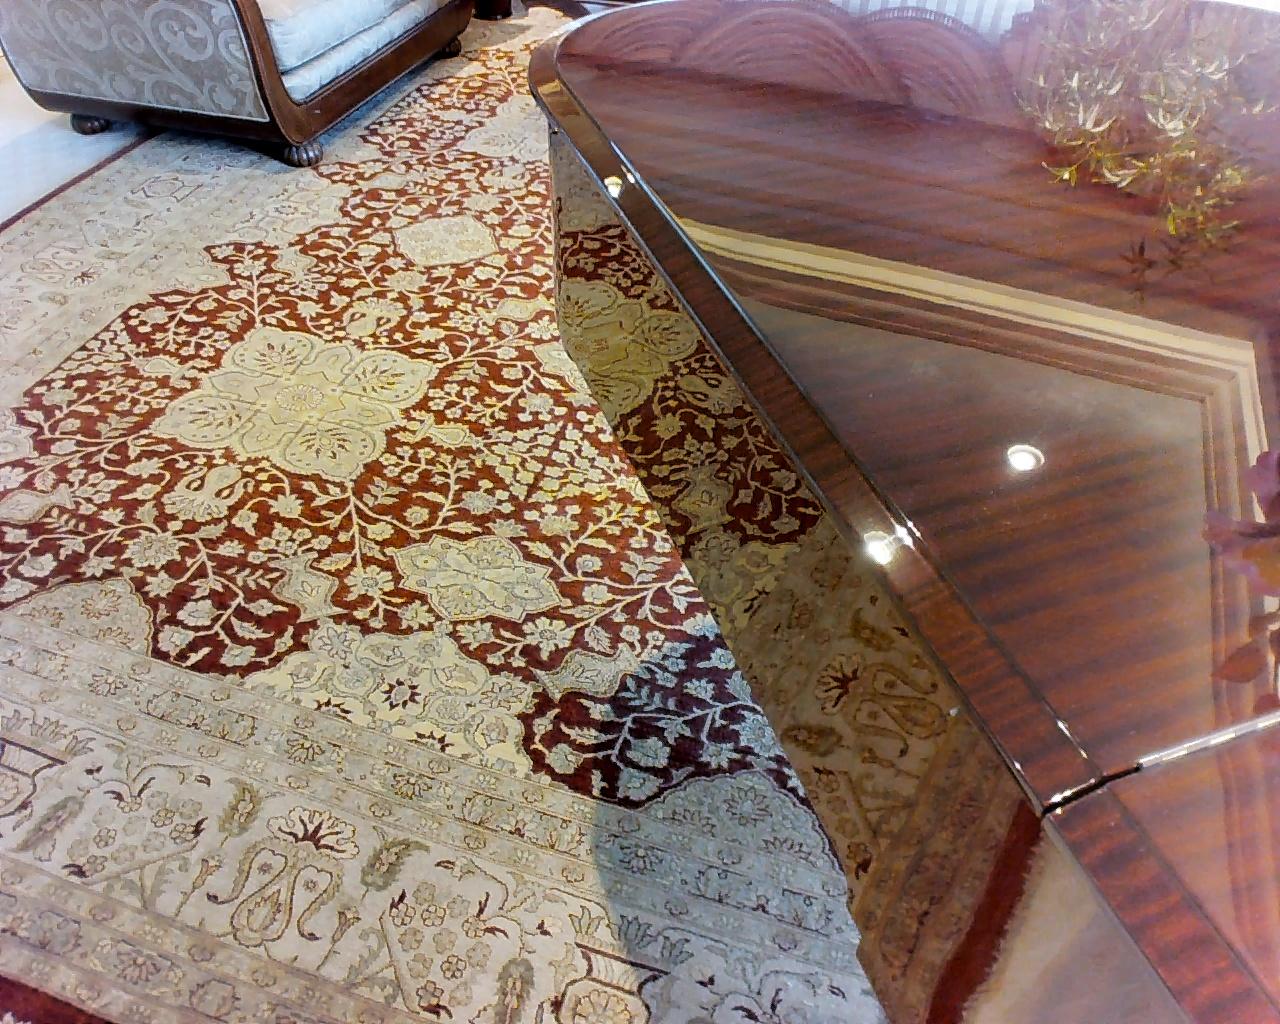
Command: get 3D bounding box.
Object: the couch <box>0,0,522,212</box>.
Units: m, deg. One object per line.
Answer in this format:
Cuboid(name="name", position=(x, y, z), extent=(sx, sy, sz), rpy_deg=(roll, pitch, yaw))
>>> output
Cuboid(name="couch", position=(-1.280, -1.820, 3.570), extent=(1.060, 0.730, 1.810), rpy_deg=(14, 44, 14))
